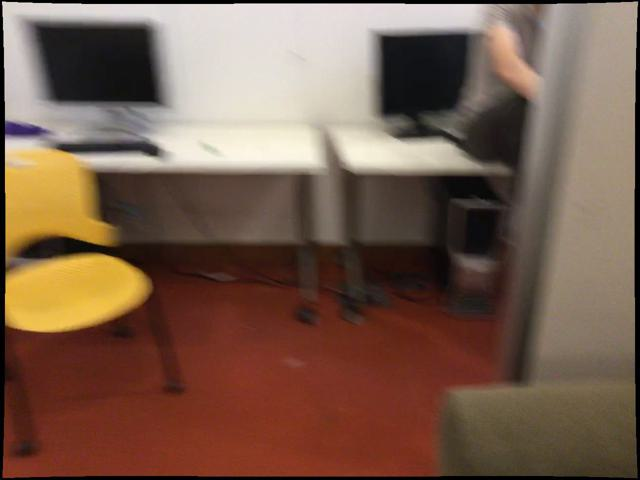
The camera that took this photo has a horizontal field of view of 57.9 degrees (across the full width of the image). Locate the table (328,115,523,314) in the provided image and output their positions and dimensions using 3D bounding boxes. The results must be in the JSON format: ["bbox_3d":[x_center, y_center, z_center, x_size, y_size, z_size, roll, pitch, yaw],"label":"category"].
[{"bbox_3d":[0.430,-0.140,2.750,0.709,0.731,0.650,1,26,-4],"label":"table"}]

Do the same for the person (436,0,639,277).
[{"bbox_3d":[0.809,-0.430,2.220,0.450,0.901,0.710,1,26,-4],"label":"person"}]

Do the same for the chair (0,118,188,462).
[{"bbox_3d":[-0.929,0.100,1.990,0.770,0.811,0.550,25,33,38],"label":"chair"}]

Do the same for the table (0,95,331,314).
[{"bbox_3d":[-0.799,-0.180,2.640,1.618,0.761,0.670,1,26,-4],"label":"table"}]
